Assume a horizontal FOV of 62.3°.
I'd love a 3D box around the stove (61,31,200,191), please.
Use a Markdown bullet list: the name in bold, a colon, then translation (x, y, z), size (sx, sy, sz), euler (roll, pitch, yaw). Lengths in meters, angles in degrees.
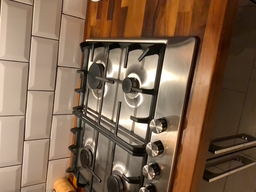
- **stove**: translation (-0.070, 0.100, 0.670), size (0.540, 0.040, 0.570), euler (19, 103, 51)
